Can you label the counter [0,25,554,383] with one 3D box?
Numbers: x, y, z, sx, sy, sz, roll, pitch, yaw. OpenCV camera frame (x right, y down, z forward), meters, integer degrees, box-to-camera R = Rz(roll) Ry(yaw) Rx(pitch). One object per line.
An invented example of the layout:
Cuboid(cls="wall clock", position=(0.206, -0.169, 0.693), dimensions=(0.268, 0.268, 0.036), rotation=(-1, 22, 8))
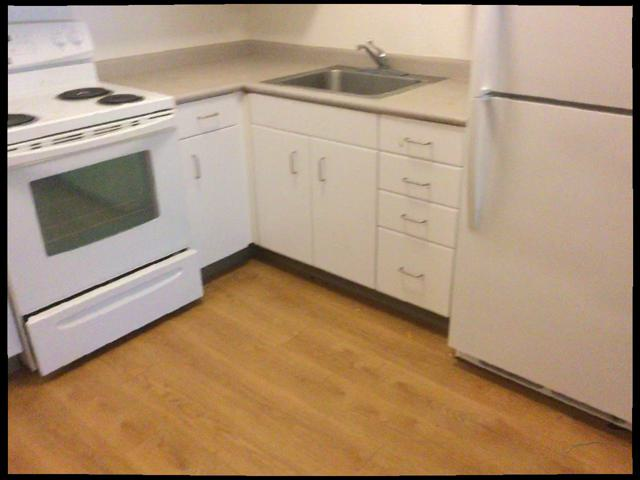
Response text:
Cuboid(cls="counter", position=(-0.469, -0.511, 2.130), dimensions=(1.838, 0.210, 2.159), rotation=(19, 34, 36))
